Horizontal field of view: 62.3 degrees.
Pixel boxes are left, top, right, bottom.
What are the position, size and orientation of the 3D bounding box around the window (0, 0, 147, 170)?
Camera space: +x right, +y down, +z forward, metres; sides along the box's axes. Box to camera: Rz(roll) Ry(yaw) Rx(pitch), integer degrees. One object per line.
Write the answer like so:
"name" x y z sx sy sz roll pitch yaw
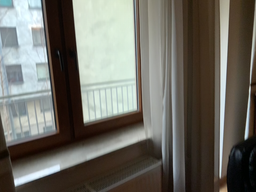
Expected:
"window" -0.480 -0.410 1.290 1.330 1.540 0.170 -10 14 -31
